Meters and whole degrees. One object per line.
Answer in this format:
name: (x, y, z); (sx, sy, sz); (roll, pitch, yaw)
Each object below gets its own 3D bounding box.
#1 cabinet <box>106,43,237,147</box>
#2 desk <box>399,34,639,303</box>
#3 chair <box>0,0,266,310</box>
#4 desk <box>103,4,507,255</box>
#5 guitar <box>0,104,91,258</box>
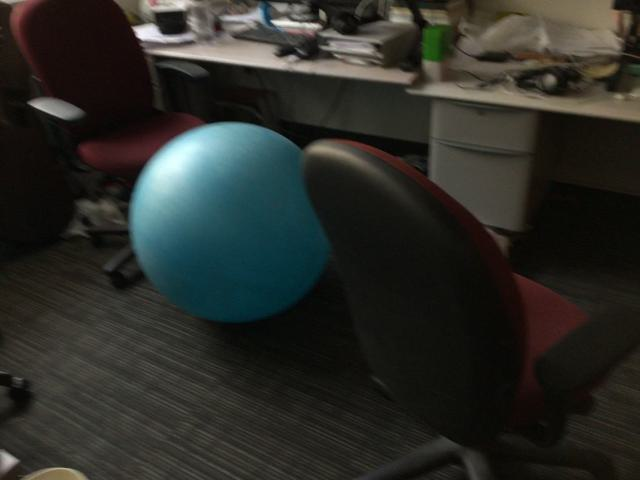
cabinet: (-0.800, -0.810, 3.170); (0.520, 0.410, 0.370); (15, 36, 28)
desk: (1.150, -0.280, 2.110); (1.520, 0.660, 0.770); (15, 36, 28)
chair: (-0.740, -0.450, 2.270); (0.690, 1.090, 0.640); (-28, 39, -34)
desk: (-0.080, -0.640, 2.800); (1.650, 0.750, 0.810); (15, 36, 28)
guitar: (-1.340, -0.270, 2.510); (0.390, 0.500, 0.370); (15, 36, 28)
